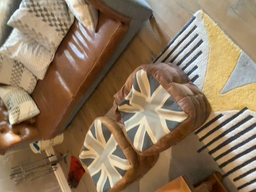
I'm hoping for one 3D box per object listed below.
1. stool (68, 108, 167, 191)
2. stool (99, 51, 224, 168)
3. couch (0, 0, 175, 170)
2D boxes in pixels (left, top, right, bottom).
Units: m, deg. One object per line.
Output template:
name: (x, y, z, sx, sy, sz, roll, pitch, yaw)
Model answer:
stool: (-0.100, 0.470, 1.680, 0.480, 0.400, 0.520, 48, 121, 26)
stool: (0.200, 0.080, 1.400, 0.530, 0.400, 0.470, -48, 65, 32)
couch: (-0.670, -0.290, 1.840, 1.840, 0.780, 0.900, -49, 64, 32)
